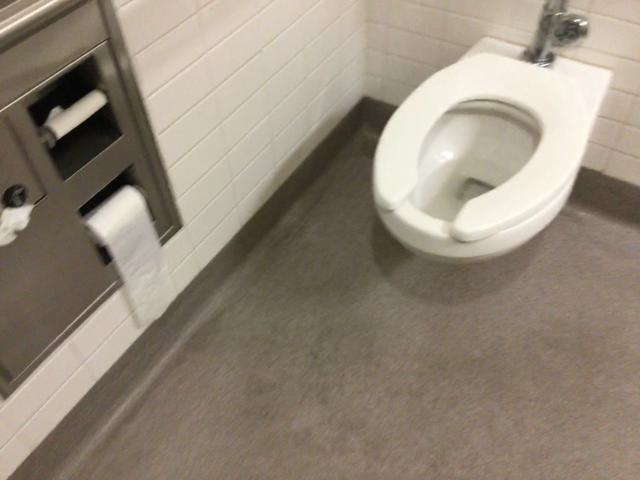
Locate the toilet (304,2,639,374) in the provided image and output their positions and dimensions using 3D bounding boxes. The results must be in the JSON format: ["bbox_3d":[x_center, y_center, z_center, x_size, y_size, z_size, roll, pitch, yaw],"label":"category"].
[{"bbox_3d":[0.320,-0.140,1.210,0.390,0.370,0.620,25,56,24],"label":"toilet"}]

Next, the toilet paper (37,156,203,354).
[{"bbox_3d":[-0.360,0.040,1.100,0.120,0.350,0.160,25,56,24],"label":"toilet paper"}]
